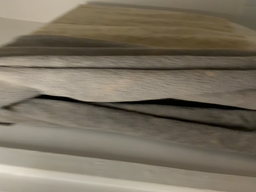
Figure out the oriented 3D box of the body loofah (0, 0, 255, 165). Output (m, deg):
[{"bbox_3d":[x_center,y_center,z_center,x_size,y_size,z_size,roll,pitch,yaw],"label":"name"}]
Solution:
[{"bbox_3d":[0.120,-0.190,0.770,0.880,0.820,0.190,-85,2,-57],"label":"body loofah"}]
